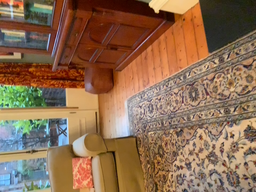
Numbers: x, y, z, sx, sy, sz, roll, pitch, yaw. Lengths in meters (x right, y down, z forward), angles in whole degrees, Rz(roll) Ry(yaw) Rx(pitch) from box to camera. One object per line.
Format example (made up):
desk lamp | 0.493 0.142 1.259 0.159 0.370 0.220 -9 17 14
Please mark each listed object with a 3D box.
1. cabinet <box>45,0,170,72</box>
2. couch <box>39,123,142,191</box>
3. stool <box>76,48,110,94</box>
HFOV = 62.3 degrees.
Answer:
cabinet | -0.320 -0.670 2.150 1.210 0.870 0.450 152 115 -61
couch | -0.520 1.050 2.540 1.140 0.930 1.240 147 119 -60
stool | -0.550 -0.350 3.230 0.570 0.350 0.550 156 111 -62
